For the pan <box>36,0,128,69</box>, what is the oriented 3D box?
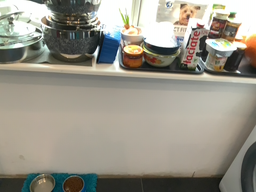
[{"bbox_3d":[-0.180,-0.320,0.930,0.330,0.280,0.240,6,36,-3],"label":"pan"}]
